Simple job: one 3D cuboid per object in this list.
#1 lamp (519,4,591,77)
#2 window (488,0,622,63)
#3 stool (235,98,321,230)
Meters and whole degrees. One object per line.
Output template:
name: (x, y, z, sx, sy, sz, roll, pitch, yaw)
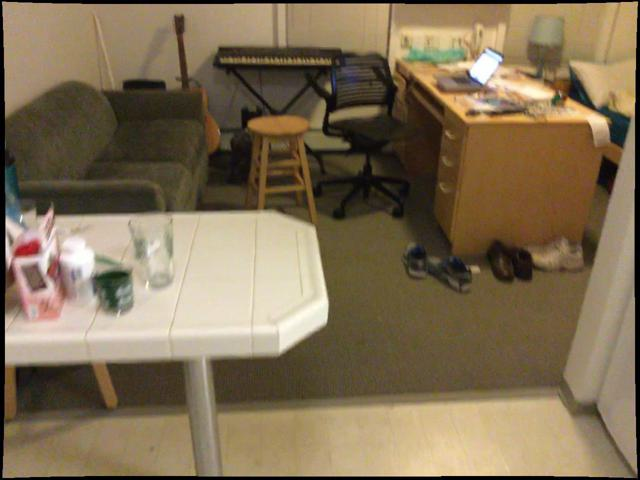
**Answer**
lamp: (1.728, -1.481, 4.290, 0.310, 0.460, 0.320, -1, 28, -4)
window: (1.758, -2.142, 4.050, 0.839, 1.701, 0.240, -1, 28, -4)
stool: (-0.250, -0.470, 3.440, 0.450, 0.590, 0.630, -1, 28, -4)
